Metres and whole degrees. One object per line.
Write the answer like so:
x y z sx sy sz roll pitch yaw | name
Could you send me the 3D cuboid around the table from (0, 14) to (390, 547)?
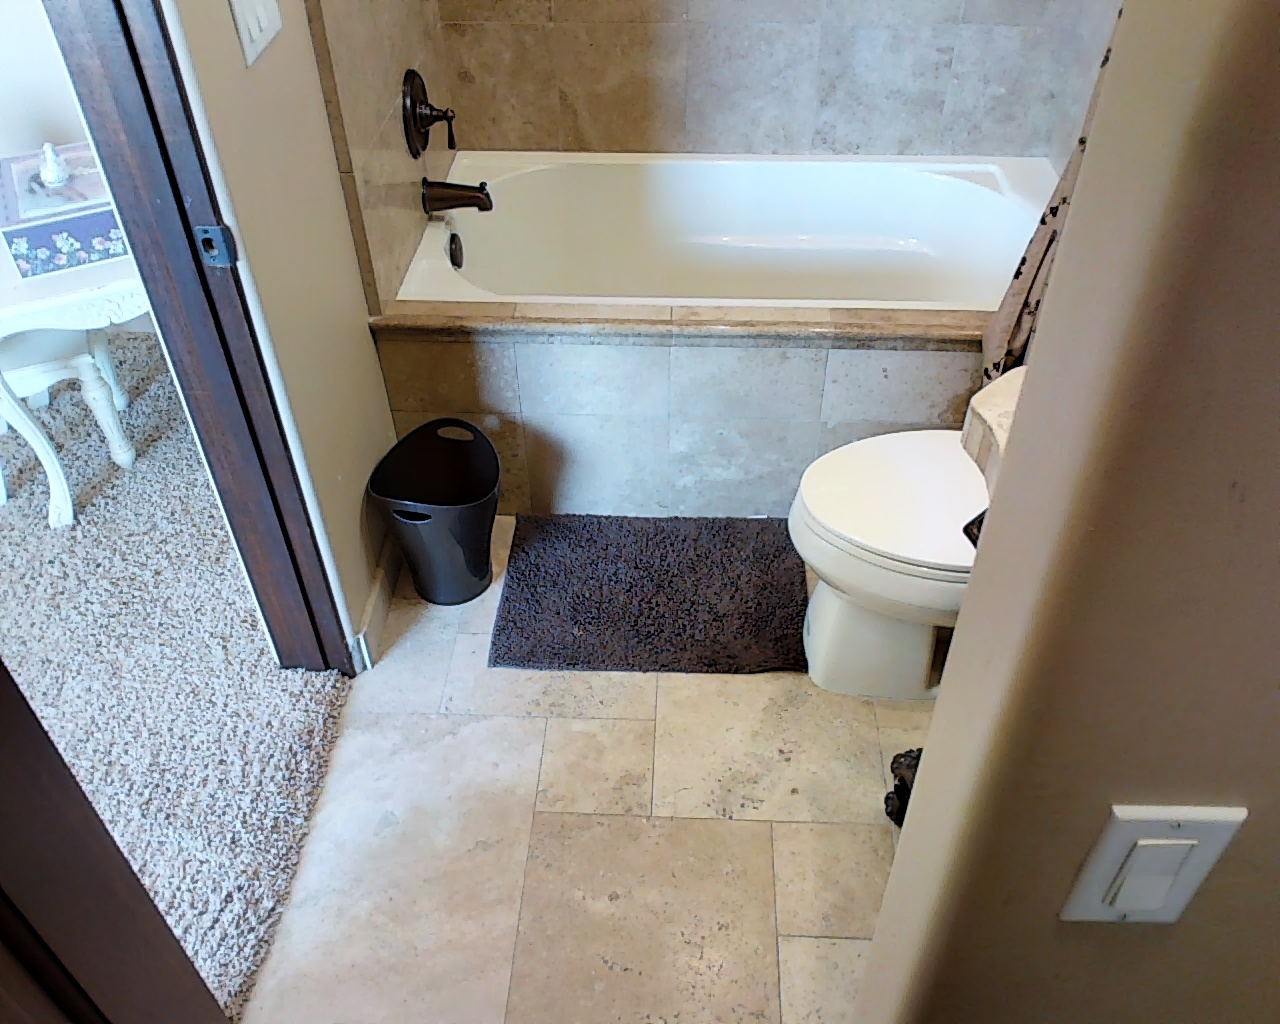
-1.130 -0.550 2.390 0.830 0.750 0.740 -19 45 -19 | table
